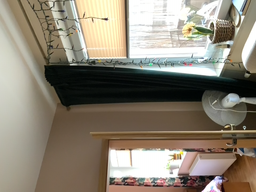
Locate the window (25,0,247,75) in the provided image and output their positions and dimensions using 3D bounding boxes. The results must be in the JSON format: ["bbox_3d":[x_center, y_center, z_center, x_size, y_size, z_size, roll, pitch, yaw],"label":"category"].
[{"bbox_3d":[0.060,-0.880,1.620,1.890,1.710,0.210,88,-178,-54],"label":"window"}]

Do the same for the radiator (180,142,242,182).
[{"bbox_3d":[1.470,1.260,3.940,1.160,0.790,0.190,88,-178,-46],"label":"radiator"}]
